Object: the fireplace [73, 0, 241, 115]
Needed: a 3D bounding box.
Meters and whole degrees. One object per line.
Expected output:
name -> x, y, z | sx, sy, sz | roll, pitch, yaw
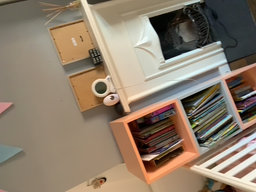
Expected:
fireplace -> 0.240, -0.460, 1.640 | 0.880, 1.040, 0.250 | 68, 162, 0
